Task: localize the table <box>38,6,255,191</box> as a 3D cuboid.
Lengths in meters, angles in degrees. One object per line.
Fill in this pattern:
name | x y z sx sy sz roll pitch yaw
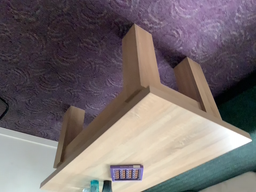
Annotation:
table | -0.010 0.200 1.360 0.630 0.570 1.160 23 134 -28
